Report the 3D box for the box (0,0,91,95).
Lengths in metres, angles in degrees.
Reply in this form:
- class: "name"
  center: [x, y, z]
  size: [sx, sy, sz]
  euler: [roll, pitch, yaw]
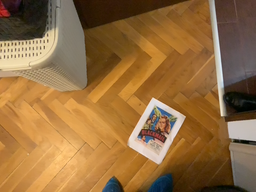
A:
- class: "box"
  center: [-0.350, -0.320, 0.910]
  size: [0.270, 0.600, 0.530]
  euler: [-3, 81, -1]
